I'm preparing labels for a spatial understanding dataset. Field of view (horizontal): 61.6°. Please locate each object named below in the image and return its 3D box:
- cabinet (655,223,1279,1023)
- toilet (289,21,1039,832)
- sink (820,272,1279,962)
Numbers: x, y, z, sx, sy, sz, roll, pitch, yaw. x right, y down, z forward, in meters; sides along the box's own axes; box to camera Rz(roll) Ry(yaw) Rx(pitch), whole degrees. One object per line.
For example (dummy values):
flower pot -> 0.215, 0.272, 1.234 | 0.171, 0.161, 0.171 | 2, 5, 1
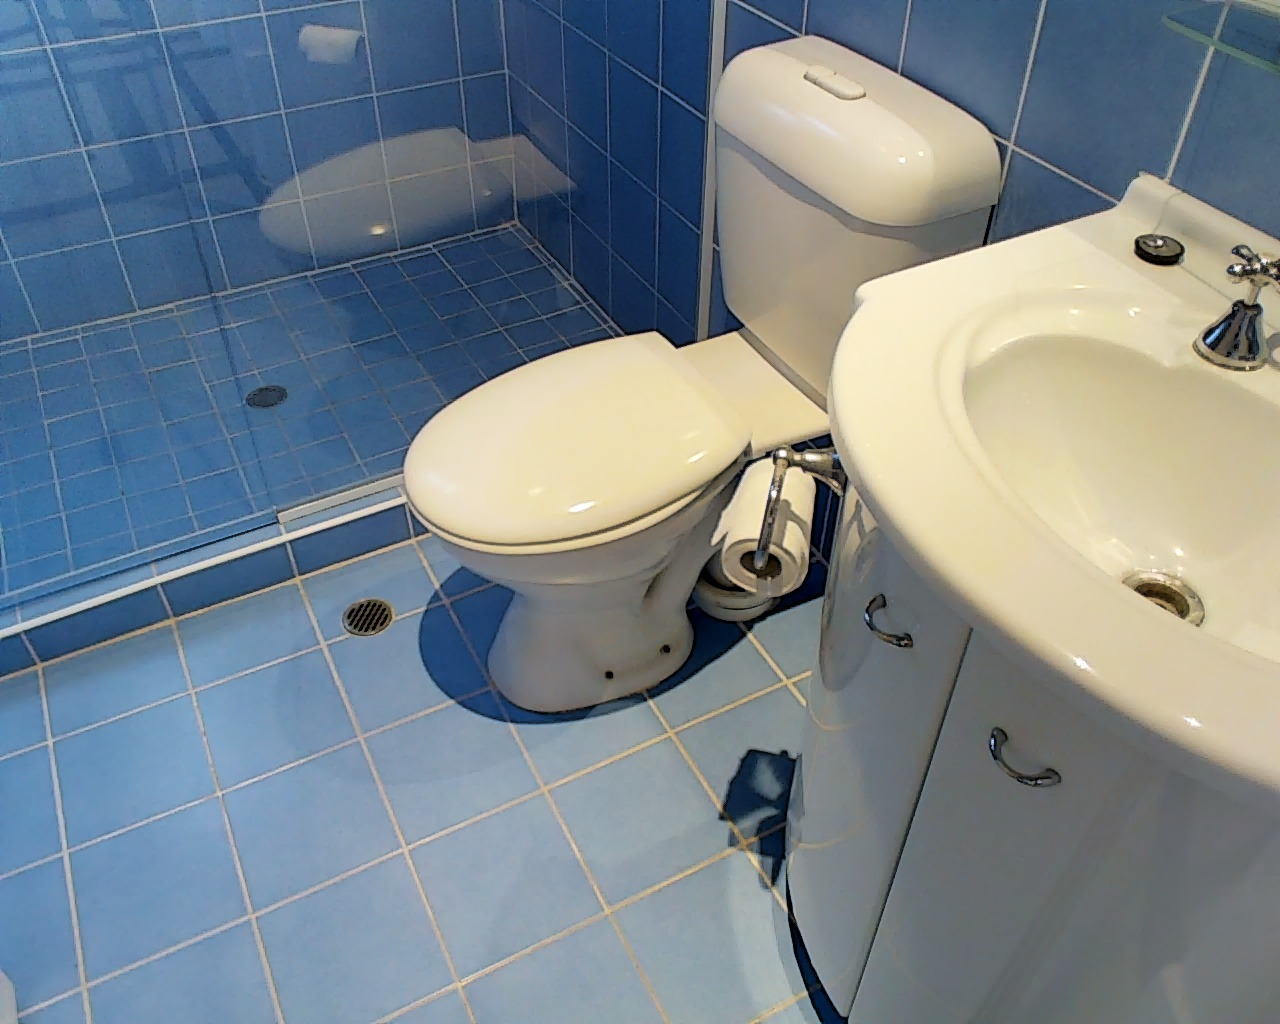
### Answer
cabinet -> 0.400, 0.260, 1.060 | 0.530, 0.790, 0.600 | -20, 45, -22
toilet -> 0.010, -0.120, 1.470 | 0.690, 0.830, 0.480 | -19, 45, -21
sink -> 0.410, 0.030, 0.820 | 0.290, 0.160, 0.500 | -19, 45, -21
